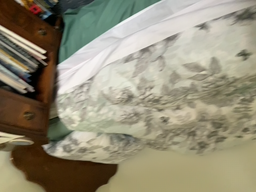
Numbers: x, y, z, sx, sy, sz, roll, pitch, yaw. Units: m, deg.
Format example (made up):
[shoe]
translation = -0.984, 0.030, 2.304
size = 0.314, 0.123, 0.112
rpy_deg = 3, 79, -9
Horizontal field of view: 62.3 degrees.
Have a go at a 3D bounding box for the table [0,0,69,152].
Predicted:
[table]
translation = -0.620, -0.170, 0.930
size = 0.400, 0.710, 0.520
rpy_deg = -15, 153, 27
